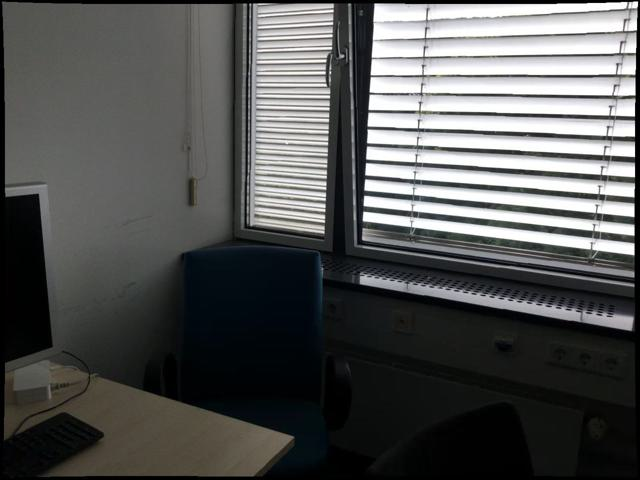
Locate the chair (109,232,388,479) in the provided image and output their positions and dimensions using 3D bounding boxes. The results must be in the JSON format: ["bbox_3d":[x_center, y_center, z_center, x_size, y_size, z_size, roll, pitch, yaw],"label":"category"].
[{"bbox_3d":[-0.200,0.531,1.820,0.639,0.951,0.750,0,15,-5],"label":"chair"}]
